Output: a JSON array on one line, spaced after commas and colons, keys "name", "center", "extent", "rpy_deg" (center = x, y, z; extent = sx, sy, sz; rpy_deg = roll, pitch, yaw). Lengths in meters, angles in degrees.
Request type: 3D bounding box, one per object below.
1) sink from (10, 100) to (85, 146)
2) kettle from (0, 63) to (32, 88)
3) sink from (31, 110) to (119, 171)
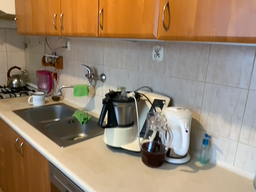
[{"name": "sink", "center": [-0.640, 0.190, 1.710], "extent": [0.380, 0.170, 0.440], "rpy_deg": [16, 19, 41]}, {"name": "kettle", "center": [-1.330, -0.250, 2.510], "extent": [0.220, 0.250, 0.280], "rpy_deg": [15, 18, 39]}, {"name": "sink", "center": [-0.360, 0.270, 1.460], "extent": [0.390, 0.170, 0.440], "rpy_deg": [16, 19, 41]}]
